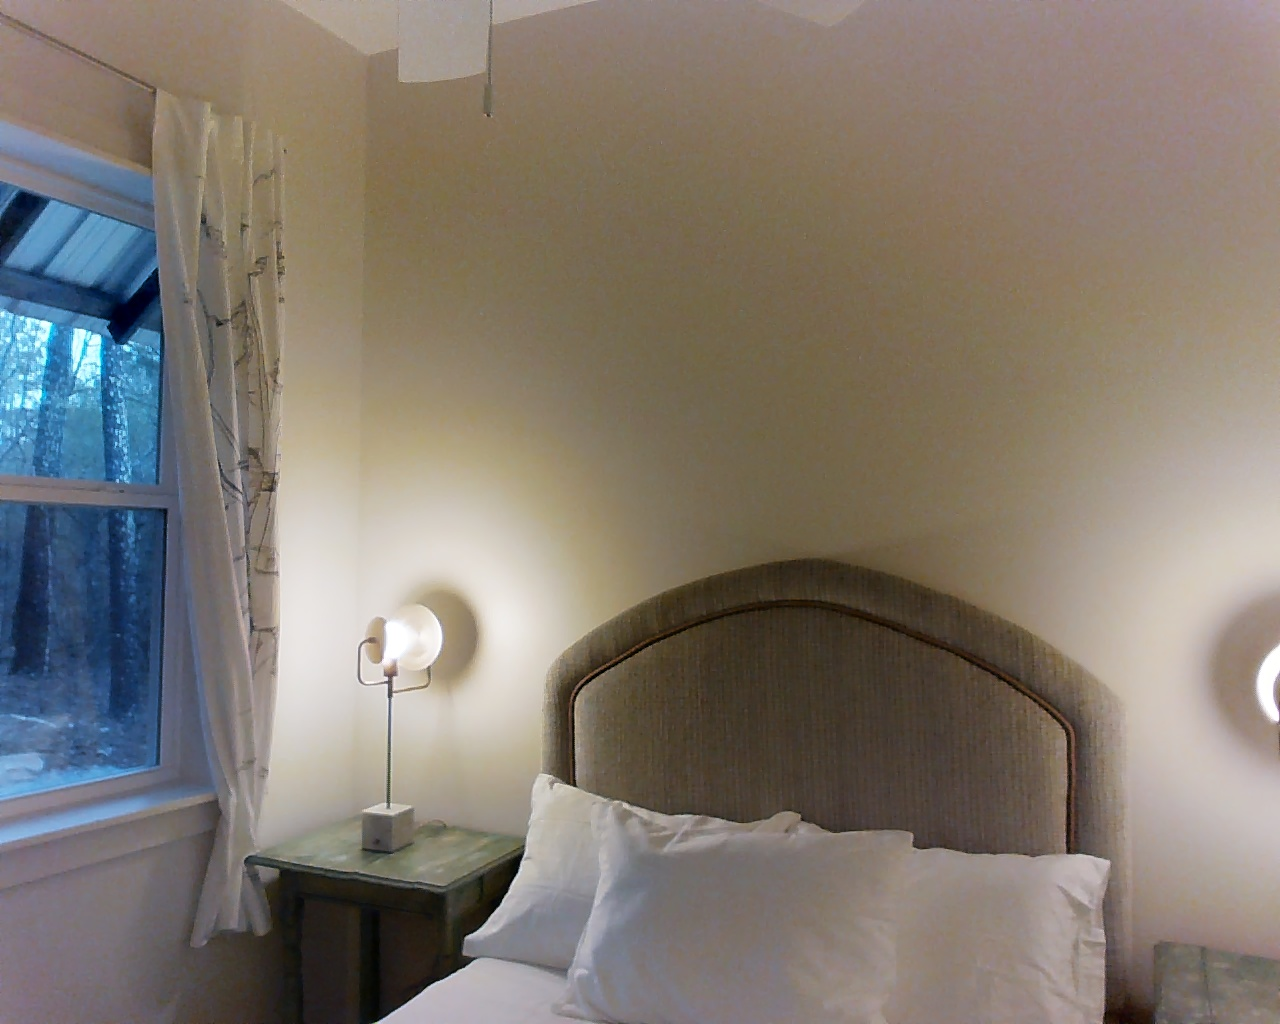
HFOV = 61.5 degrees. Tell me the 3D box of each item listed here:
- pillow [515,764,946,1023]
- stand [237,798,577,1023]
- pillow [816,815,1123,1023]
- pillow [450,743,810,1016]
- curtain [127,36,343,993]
[{"bbox_3d":[0.190,0.800,2.190,0.770,0.440,0.280,-1,-26,26],"label":"pillow"},{"bbox_3d":[-0.610,1.230,2.850,0.740,0.760,0.480,-1,-2,26],"label":"stand"},{"bbox_3d":[0.680,0.850,2.190,0.540,0.380,0.320,-1,-17,27],"label":"pillow"},{"bbox_3d":[-0.010,0.830,2.520,0.680,0.290,0.430,0,33,27],"label":"pillow"},{"bbox_3d":[-1.000,0.000,2.720,0.140,2.180,0.530,-1,-2,26],"label":"curtain"}]
